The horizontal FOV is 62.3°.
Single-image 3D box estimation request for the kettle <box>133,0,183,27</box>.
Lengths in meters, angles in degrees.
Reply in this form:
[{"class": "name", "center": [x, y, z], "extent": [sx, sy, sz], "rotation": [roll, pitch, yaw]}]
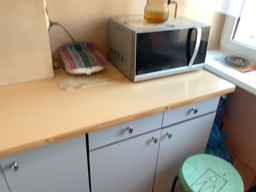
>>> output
[{"class": "kettle", "center": [0.160, -0.500, 1.180], "extent": [0.170, 0.160, 0.230], "rotation": [-11, 35, -22]}]
